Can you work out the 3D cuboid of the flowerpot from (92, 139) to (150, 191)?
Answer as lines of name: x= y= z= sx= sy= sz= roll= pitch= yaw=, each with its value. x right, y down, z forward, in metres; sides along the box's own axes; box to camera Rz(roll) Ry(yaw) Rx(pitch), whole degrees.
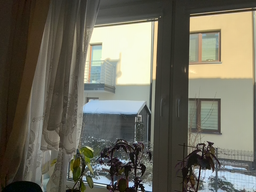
flowerpot: x=-0.040 y=0.540 z=1.400 sx=0.300 sy=0.460 sz=0.240 roll=0 pitch=-6 yaw=22

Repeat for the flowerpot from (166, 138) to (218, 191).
flowerpot: x=0.350 y=0.510 z=1.180 sx=0.230 sy=0.490 sz=0.260 roll=5 pitch=-4 yaw=21
